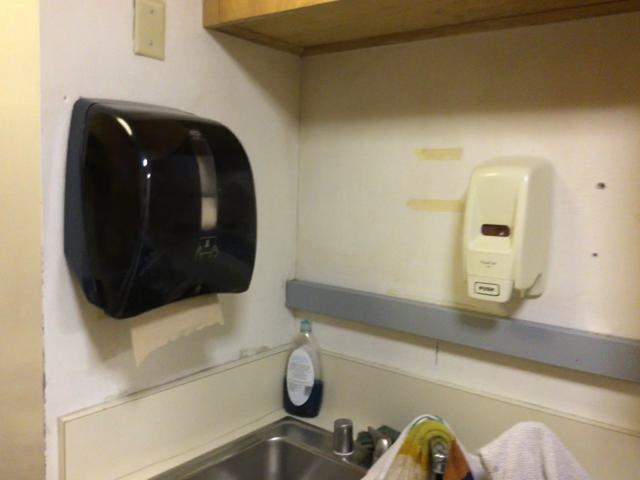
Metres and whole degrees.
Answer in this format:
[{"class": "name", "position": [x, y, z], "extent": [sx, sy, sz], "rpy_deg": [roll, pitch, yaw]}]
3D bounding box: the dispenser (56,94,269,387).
[{"class": "dispenser", "position": [-0.280, -0.010, 1.070], "extent": [0.210, 0.450, 0.310], "rpy_deg": [5, 6, 37]}]
